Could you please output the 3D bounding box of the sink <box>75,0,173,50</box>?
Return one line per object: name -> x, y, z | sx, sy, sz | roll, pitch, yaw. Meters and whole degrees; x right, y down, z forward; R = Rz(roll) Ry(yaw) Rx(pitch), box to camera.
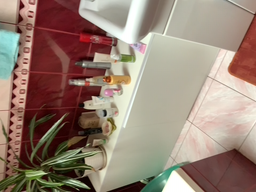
sink -> 0.000, -0.540, 0.860 | 0.470, 0.160, 0.560 | 41, 122, 44
